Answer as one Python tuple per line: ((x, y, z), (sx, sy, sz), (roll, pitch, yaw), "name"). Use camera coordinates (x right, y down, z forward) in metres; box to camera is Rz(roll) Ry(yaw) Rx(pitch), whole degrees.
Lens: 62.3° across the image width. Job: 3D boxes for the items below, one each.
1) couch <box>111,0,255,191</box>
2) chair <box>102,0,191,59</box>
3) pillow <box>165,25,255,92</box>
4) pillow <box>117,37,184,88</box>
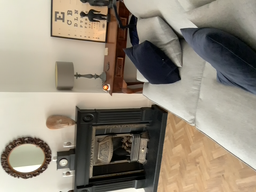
((0.580, -0.300, 1.590), (1.930, 0.810, 1.120), (-141, 55, -64), "couch")
((0.190, -0.830, 2.560), (0.440, 0.860, 0.560), (-121, 38, -54), "chair")
((0.540, -0.210, 1.150), (0.450, 0.470, 0.160), (4, 123, 62), "pillow")
((0.180, -0.320, 1.950), (0.180, 0.450, 0.450), (54, 174, -20), "pillow")
